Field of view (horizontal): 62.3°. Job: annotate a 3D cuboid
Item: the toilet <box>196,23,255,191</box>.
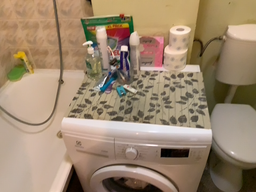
[{"bbox_3d":[0.710,0.130,1.330,0.360,0.960,0.570,5,41,9],"label":"toilet"}]
